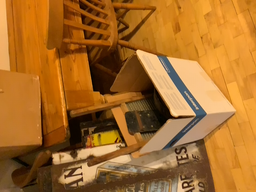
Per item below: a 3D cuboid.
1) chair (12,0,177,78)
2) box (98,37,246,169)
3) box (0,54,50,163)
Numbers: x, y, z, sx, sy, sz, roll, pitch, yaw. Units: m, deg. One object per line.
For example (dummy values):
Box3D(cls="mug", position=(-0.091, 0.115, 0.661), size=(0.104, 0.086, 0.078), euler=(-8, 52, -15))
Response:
Box3D(cls="chair", position=(-0.200, -0.460, 1.400), size=(0.480, 0.870, 0.450), euler=(-37, 64, 41))
Box3D(cls="box", position=(0.230, 0.040, 1.210), size=(0.450, 0.520, 0.470), euler=(-50, 56, 36))
Box3D(cls="box", position=(-0.800, 0.120, 1.200), size=(0.600, 0.430, 0.500), euler=(-26, 72, 45))
